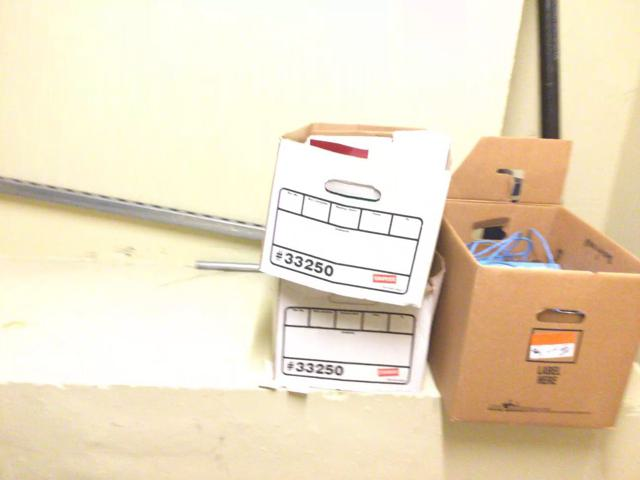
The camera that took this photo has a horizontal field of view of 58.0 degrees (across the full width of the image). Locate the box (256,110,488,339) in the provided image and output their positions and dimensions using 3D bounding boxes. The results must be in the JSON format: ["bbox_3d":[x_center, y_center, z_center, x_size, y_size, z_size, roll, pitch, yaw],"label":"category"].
[{"bbox_3d":[0.080,-0.070,1.200,0.360,0.320,0.510,3,19,0],"label":"box"}]

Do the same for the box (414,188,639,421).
[{"bbox_3d":[0.440,0.100,1.260,0.370,0.290,0.530,3,19,0],"label":"box"}]
